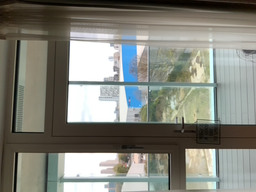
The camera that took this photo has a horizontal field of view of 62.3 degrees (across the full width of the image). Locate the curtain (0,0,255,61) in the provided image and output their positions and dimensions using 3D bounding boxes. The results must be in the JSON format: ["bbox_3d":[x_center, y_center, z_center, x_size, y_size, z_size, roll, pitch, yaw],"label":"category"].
[{"bbox_3d":[0.300,-0.680,1.650,0.520,2.530,0.650,135,137,-86],"label":"curtain"}]
